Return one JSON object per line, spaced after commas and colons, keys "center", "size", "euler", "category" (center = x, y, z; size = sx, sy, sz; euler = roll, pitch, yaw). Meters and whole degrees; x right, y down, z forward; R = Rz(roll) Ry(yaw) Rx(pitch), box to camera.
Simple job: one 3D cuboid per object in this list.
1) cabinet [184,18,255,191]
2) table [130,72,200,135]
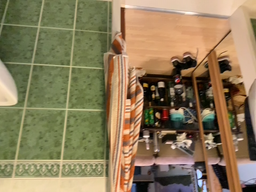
{"center": [1.010, 0.560, 1.830], "size": [0.450, 2.120, 1.050], "euler": [3, 159, -8], "category": "cabinet"}
{"center": [0.420, 0.110, 2.650], "size": [0.740, 0.680, 0.370], "euler": [2, 159, -7], "category": "table"}
